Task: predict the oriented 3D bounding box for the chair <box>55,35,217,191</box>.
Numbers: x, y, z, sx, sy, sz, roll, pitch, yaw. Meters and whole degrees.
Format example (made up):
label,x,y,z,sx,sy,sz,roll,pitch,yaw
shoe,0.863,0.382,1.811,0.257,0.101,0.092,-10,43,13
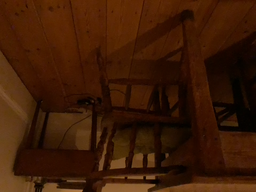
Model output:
label,x,y,z,sx,sy,sz,roll,pitch,yaw
chair,0.030,0.150,1.240,0.640,0.810,0.530,1,155,-1
